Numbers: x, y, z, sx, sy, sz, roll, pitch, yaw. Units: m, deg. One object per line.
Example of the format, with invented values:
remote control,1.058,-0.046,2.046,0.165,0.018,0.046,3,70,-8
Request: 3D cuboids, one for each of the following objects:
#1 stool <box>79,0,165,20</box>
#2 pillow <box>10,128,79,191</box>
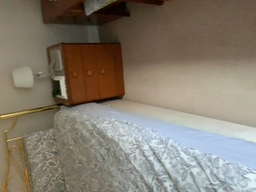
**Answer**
stool,-0.070,-0.850,1.700,0.540,0.460,0.340,9,106,53
pillow,-0.800,0.700,2.100,0.110,0.320,0.700,11,131,52
